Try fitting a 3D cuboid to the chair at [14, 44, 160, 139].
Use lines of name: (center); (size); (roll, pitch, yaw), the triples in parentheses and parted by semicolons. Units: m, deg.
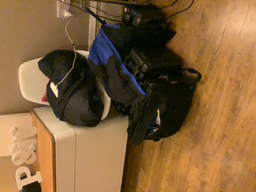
chair: (-0.280, -0.110, 1.510); (0.530, 0.810, 0.400); (31, 122, 43)
